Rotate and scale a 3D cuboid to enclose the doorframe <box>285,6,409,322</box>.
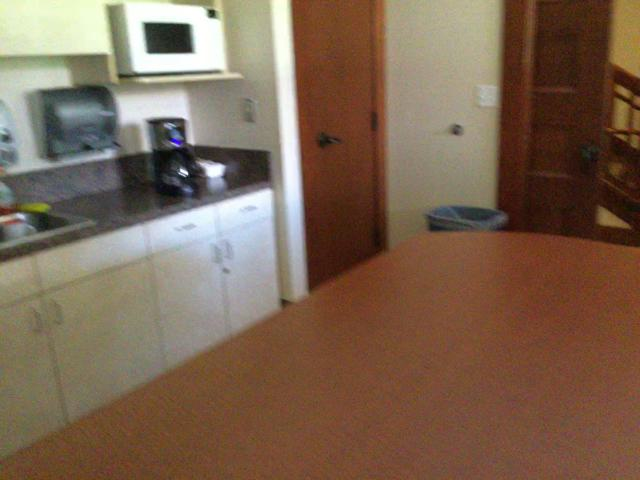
[{"bbox_3d":[0.210,-0.450,3.320,0.140,1.620,0.920,11,22,38],"label":"doorframe"}]

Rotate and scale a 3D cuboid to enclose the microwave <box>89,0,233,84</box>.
[{"bbox_3d":[-0.720,-0.920,2.700,0.230,0.330,0.590,11,22,38],"label":"microwave"}]
